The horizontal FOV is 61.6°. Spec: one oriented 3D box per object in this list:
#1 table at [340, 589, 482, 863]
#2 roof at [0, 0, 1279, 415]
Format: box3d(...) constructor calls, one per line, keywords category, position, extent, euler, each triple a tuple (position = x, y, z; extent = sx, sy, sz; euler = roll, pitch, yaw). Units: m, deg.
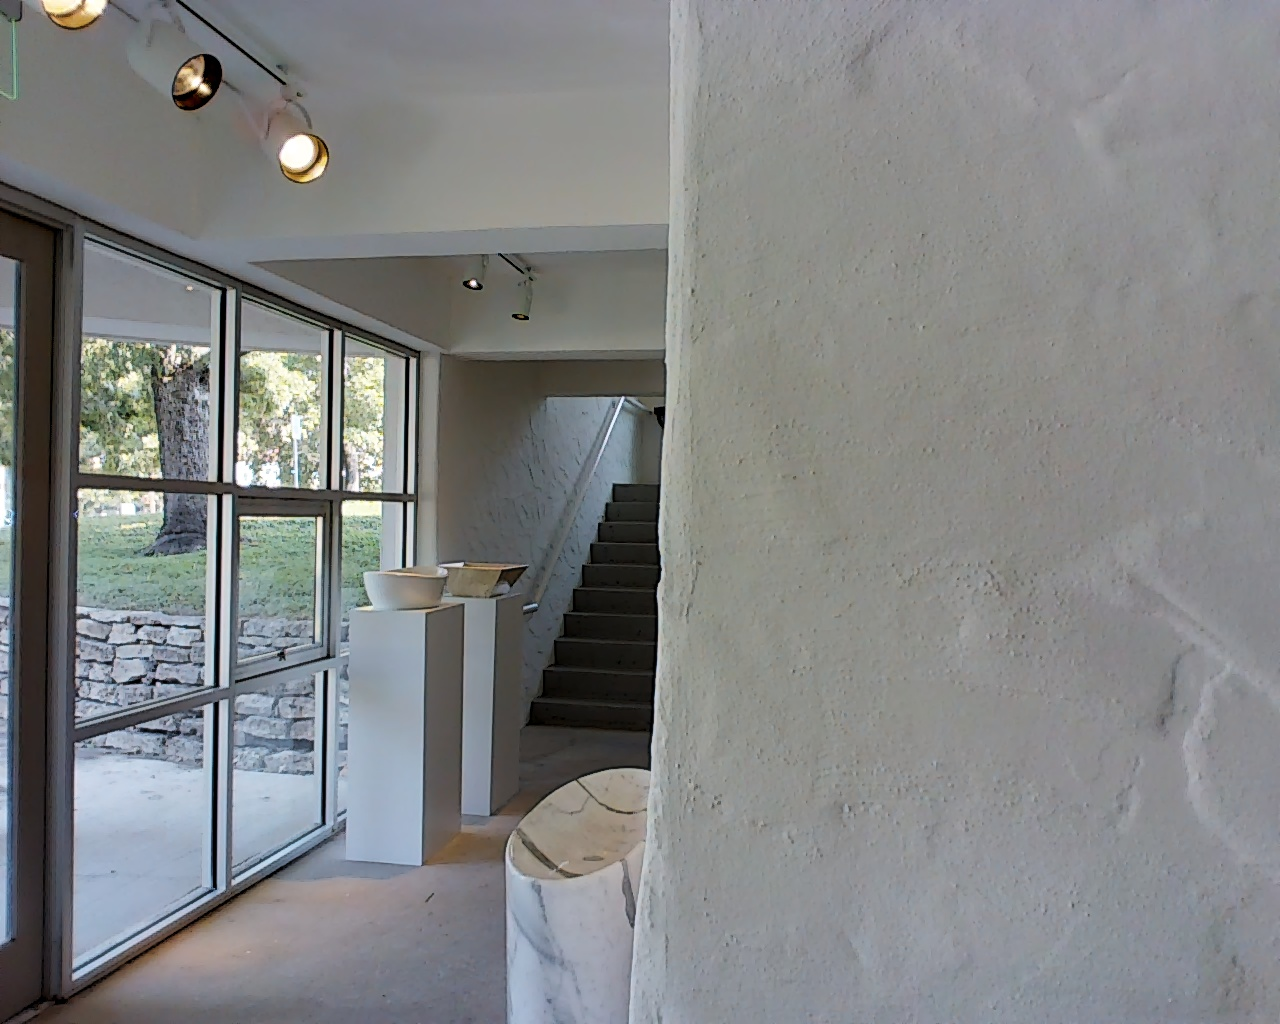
box3d(category="table", position=(-1.010, 0.920, 4.810), extent=(0.420, 1.100, 0.550), euler=(1, 0, 11))
box3d(category="roof", position=(-0.080, -1.000, 3.040), extent=(3.130, 0.610, 8.950), euler=(1, 0, 11))
